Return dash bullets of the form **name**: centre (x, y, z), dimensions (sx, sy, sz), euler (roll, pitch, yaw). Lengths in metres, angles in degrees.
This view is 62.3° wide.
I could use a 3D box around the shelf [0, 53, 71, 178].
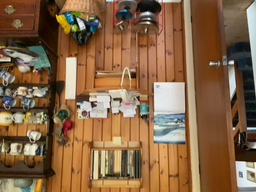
- **shelf**: centre (-1.260, 0.160, 2.000), dimensions (1.360, 1.140, 0.110), euler (0, 170, -1)
